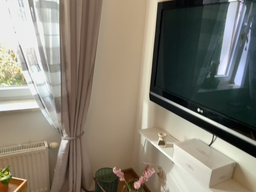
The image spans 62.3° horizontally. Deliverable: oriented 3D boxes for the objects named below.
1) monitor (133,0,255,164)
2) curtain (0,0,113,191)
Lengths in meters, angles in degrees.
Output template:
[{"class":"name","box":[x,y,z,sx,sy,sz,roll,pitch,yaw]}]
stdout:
[{"class":"monitor","box":[0.380,-0.200,1.220,0.070,0.710,1.230,-4,19,-27]},{"class":"curtain","box":[-0.520,-0.320,1.560,0.710,3.080,0.310,-5,20,-29]}]
